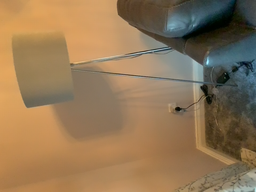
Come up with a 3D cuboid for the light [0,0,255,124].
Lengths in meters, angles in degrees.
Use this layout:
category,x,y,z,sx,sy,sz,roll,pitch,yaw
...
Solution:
category,x,y,z,sx,sy,sz,roll,pitch,yaw
light,-0.010,-0.240,1.420,0.770,1.530,0.490,-162,67,-70
